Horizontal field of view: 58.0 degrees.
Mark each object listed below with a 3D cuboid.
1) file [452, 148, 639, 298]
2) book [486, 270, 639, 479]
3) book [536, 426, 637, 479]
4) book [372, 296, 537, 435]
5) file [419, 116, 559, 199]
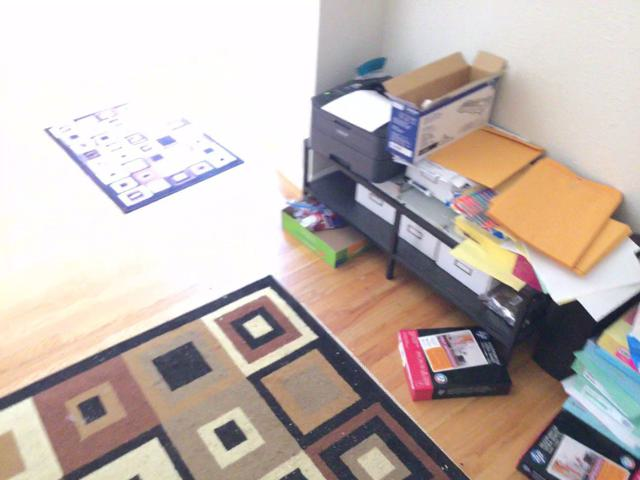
[{"bbox_3d":[0.660,-0.070,1.620,0.420,0.130,0.360,-22,46,-31],"label":"file"},{"bbox_3d":[0.820,0.400,1.440,0.600,0.380,0.420,-22,46,-31],"label":"book"},{"bbox_3d":[0.660,0.570,1.430,0.200,0.010,0.150,29,44,27],"label":"book"},{"bbox_3d":[0.390,0.350,1.700,0.340,0.080,0.320,-22,46,-31],"label":"book"},{"bbox_3d":[0.510,-0.260,1.750,0.340,0.070,0.240,-22,46,-31],"label":"file"}]
